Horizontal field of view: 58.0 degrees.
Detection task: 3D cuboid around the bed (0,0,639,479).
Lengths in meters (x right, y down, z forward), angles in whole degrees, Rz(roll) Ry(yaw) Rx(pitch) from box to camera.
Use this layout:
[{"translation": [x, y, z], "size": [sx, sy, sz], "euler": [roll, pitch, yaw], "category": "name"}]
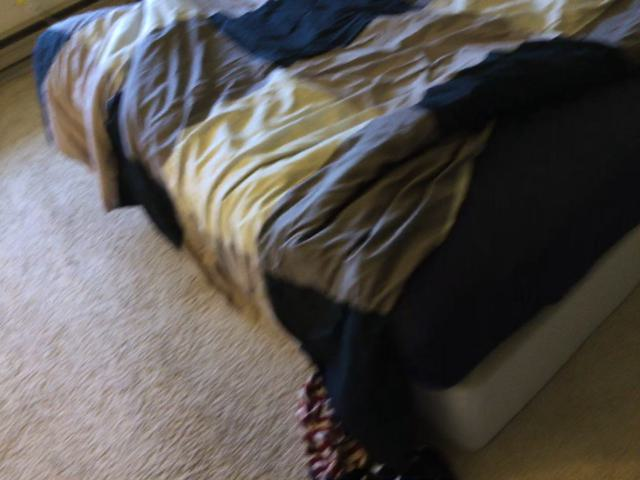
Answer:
[{"translation": [0.410, -0.620, 1.690], "size": [2.170, 0.520, 1.790], "euler": [-38, 48, -21], "category": "bed"}]
